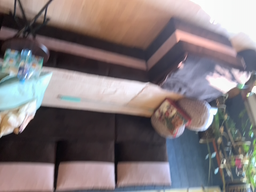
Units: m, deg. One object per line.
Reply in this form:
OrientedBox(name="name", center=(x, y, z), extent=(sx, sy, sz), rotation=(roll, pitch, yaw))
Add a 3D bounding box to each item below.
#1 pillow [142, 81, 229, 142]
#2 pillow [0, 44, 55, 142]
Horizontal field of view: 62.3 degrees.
OrientedBox(name="pillow", center=(0.620, 0.220, 2.430), extent=(0.600, 0.420, 0.670), rotation=(11, 150, -31))
OrientedBox(name="pillow", center=(-0.940, 0.040, 1.820), extent=(0.480, 0.500, 0.830), rotation=(6, 152, -23))
